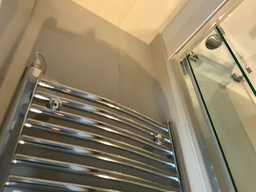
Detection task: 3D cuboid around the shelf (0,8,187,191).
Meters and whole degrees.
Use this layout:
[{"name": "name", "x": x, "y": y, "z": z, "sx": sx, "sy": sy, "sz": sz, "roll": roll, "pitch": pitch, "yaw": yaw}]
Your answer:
[{"name": "shelf", "x": -0.050, "y": 0.340, "z": 0.360, "sx": 0.480, "sy": 1.400, "sz": 0.070, "roll": 22, "pitch": 133, "yaw": -26}]
